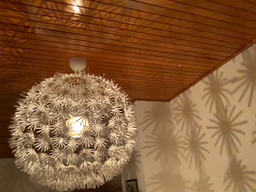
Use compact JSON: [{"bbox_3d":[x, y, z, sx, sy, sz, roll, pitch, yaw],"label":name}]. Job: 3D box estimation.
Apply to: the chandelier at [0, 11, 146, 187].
[{"bbox_3d":[-0.400,0.110,1.670,0.820,1.020,0.780,-11,158,12],"label":"chandelier"}]
